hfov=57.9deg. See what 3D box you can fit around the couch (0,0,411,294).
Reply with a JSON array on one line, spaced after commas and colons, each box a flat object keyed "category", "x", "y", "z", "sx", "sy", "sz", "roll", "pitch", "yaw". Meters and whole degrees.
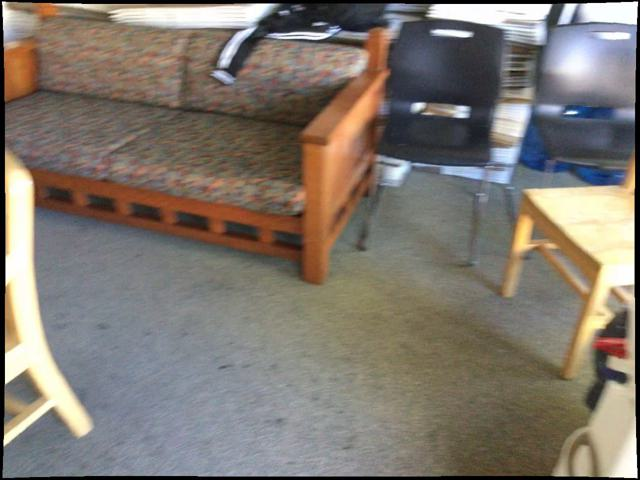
[{"category": "couch", "x": -0.679, "y": -0.581, "z": 2.660, "sx": 1.928, "sy": 0.761, "sz": 1.070, "roll": 12, "pitch": 37, "yaw": 17}]
